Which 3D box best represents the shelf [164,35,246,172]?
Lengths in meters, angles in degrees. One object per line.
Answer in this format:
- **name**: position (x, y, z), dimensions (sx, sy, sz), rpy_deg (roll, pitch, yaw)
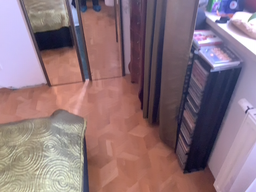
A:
- **shelf**: position (0.410, 0.090, 1.330), dimensions (0.190, 0.820, 0.350), rpy_deg (-7, 41, -6)
